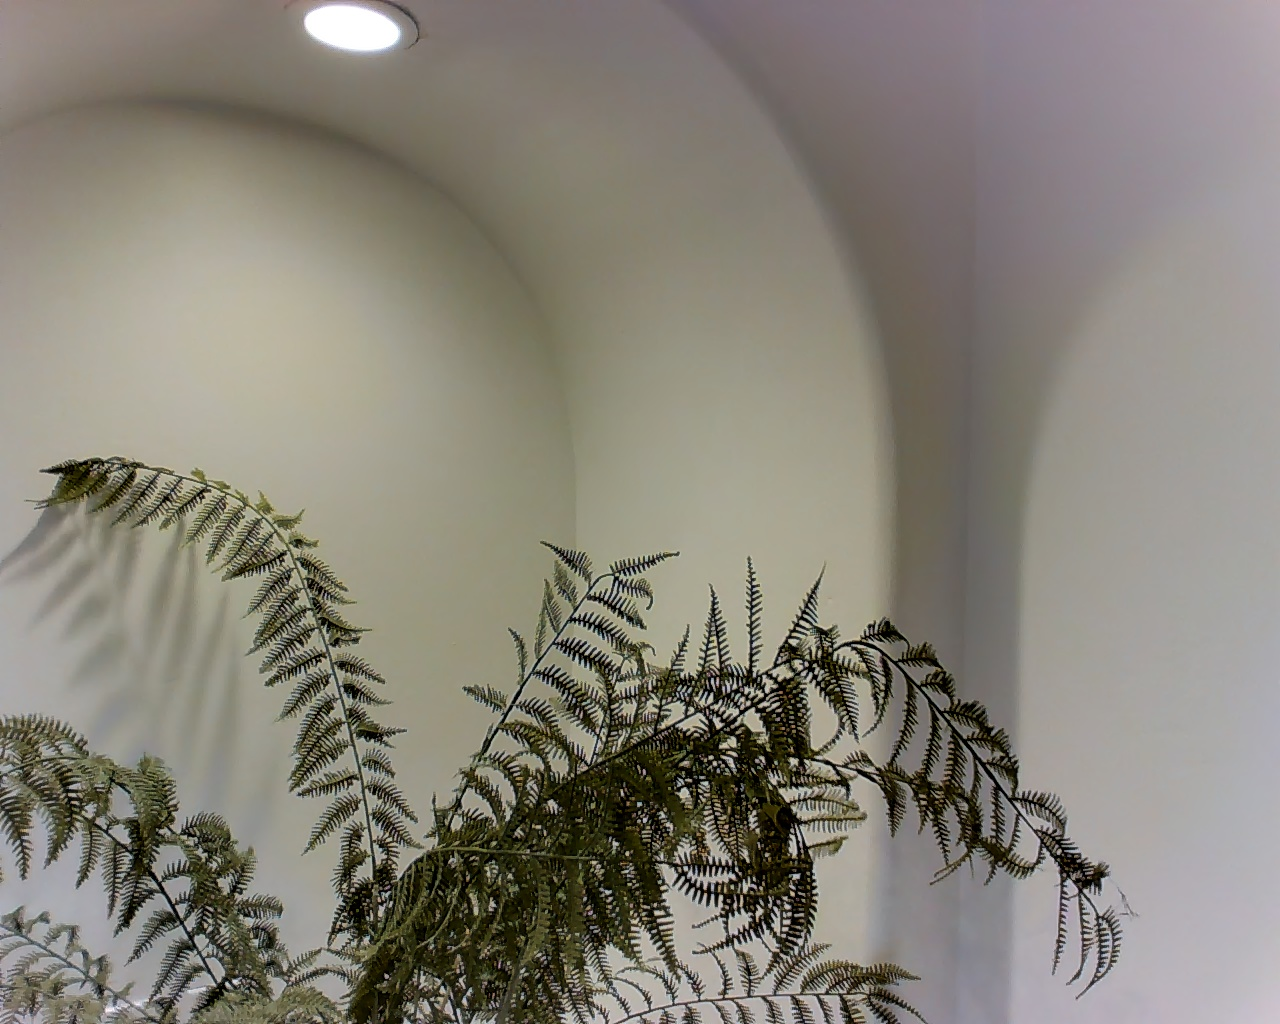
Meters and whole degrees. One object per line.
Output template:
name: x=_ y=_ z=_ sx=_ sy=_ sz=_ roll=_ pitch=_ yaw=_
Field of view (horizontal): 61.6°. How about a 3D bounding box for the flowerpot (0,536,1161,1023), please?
flowerpot: x=-0.140 y=0.470 z=0.800 sx=0.900 sy=0.880 sz=0.560 roll=3 pitch=-3 yaw=-32
